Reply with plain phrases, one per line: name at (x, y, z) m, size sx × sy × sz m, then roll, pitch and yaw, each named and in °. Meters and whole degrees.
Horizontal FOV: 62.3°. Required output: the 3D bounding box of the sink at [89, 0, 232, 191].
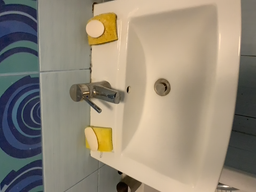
sink at (0.080, 0.010, 0.720) m, size 0.400 × 0.170 × 0.610 m, roll 10°, pitch 104°, yaw 29°
